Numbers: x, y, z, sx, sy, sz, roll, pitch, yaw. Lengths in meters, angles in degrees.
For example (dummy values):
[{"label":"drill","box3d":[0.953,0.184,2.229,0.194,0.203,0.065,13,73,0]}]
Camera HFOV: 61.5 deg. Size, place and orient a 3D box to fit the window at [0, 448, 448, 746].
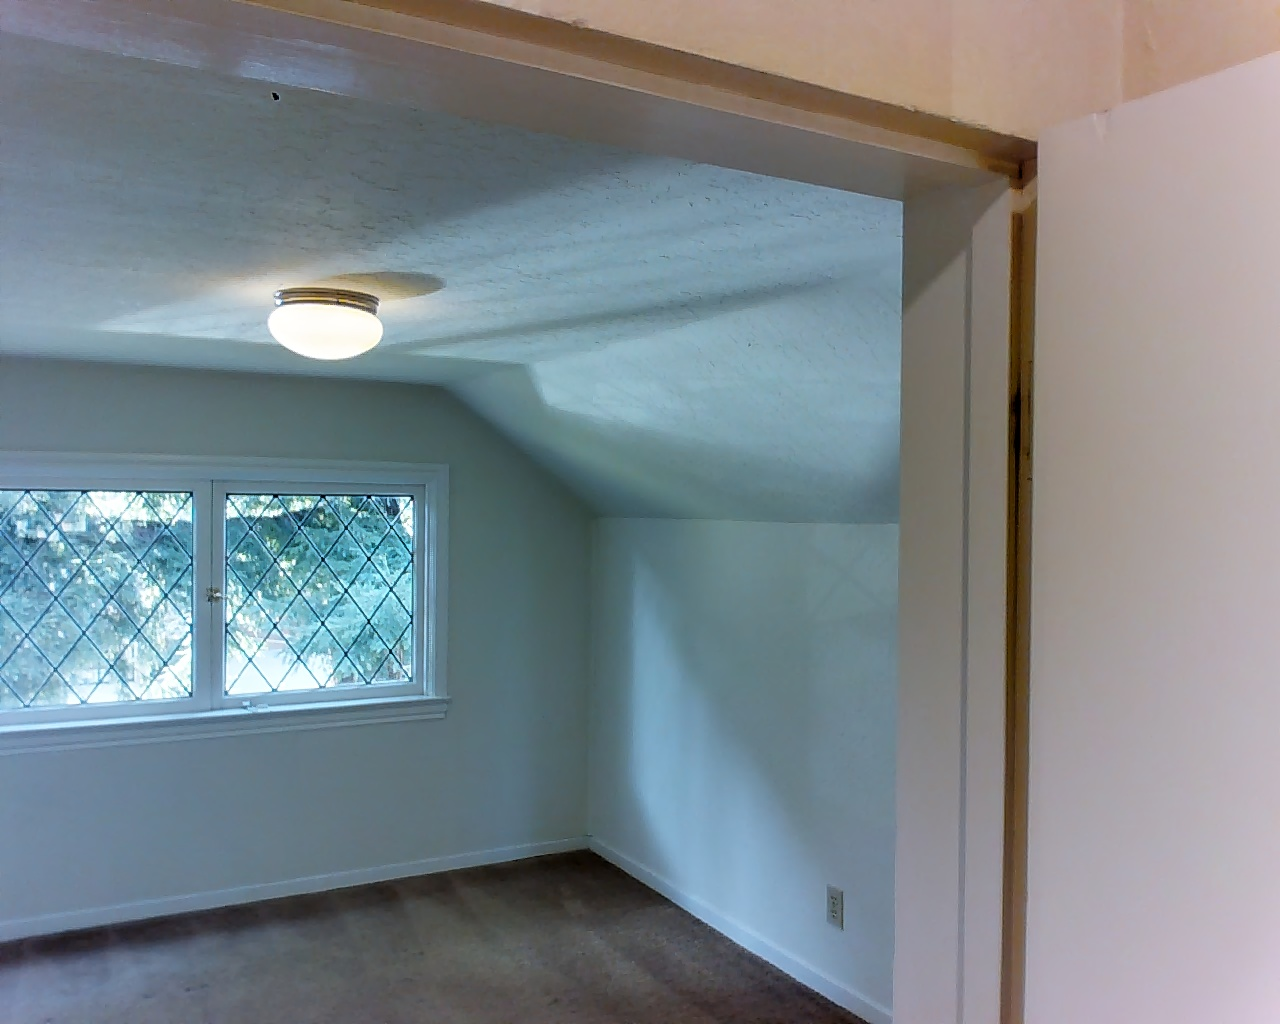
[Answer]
[{"label":"window","box3d":[-1.520,0.280,3.860,1.660,0.960,0.160,0,-4,-29]}]
